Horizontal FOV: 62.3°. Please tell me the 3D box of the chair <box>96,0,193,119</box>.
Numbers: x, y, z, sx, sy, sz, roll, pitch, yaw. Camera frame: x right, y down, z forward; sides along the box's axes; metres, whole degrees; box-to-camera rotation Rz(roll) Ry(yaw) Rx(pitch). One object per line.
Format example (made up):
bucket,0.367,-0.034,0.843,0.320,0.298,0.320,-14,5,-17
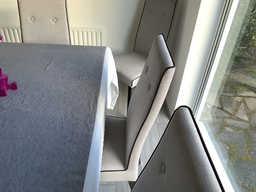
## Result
chair,0.130,-0.430,2.140,0.740,1.020,0.480,-27,46,-36
